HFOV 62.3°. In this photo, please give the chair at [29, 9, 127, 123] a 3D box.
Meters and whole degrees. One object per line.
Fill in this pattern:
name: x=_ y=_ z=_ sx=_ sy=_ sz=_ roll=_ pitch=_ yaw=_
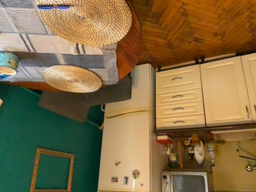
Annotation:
chair: x=-0.420 y=-0.230 z=2.010 sx=0.590 sy=0.800 sz=0.560 roll=-10 pitch=154 yaw=27
